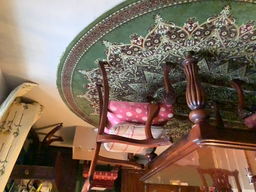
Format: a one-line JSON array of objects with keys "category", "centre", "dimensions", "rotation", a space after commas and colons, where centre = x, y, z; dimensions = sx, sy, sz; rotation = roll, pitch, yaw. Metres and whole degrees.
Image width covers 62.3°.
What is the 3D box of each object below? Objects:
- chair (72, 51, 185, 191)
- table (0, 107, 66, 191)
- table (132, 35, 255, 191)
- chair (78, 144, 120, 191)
[{"category": "chair", "centre": [-0.030, 0.260, 1.640], "dimensions": [0.620, 0.970, 0.590], "rotation": [7, 147, -9]}, {"category": "table", "centre": [-1.180, 0.750, 2.700], "dimensions": [0.610, 0.750, 1.000], "rotation": [9, 147, -12]}, {"category": "table", "centre": [1.080, 0.340, 1.910], "dimensions": [1.850, 0.780, 1.130], "rotation": [9, 147, -12]}, {"category": "chair", "centre": [-0.480, 1.360, 3.440], "dimensions": [0.580, 0.980, 0.530], "rotation": [8, 147, -10]}]
